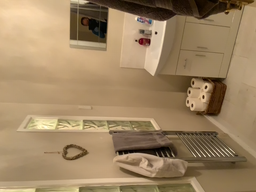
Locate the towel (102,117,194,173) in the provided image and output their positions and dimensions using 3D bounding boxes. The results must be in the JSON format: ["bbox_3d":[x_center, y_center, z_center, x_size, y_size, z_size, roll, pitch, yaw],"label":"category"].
[{"bbox_3d":[0.110,0.350,1.640,0.520,0.580,0.150,-117,32,-67],"label":"towel"}]
